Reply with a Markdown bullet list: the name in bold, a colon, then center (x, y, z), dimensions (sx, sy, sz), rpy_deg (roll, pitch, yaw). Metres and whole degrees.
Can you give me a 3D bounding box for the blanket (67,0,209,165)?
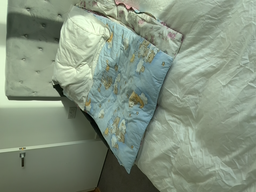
- **blanket**: center (-0.130, -0.320, 1.620), dimensions (1.350, 0.180, 0.960), rpy_deg (40, 122, 50)
